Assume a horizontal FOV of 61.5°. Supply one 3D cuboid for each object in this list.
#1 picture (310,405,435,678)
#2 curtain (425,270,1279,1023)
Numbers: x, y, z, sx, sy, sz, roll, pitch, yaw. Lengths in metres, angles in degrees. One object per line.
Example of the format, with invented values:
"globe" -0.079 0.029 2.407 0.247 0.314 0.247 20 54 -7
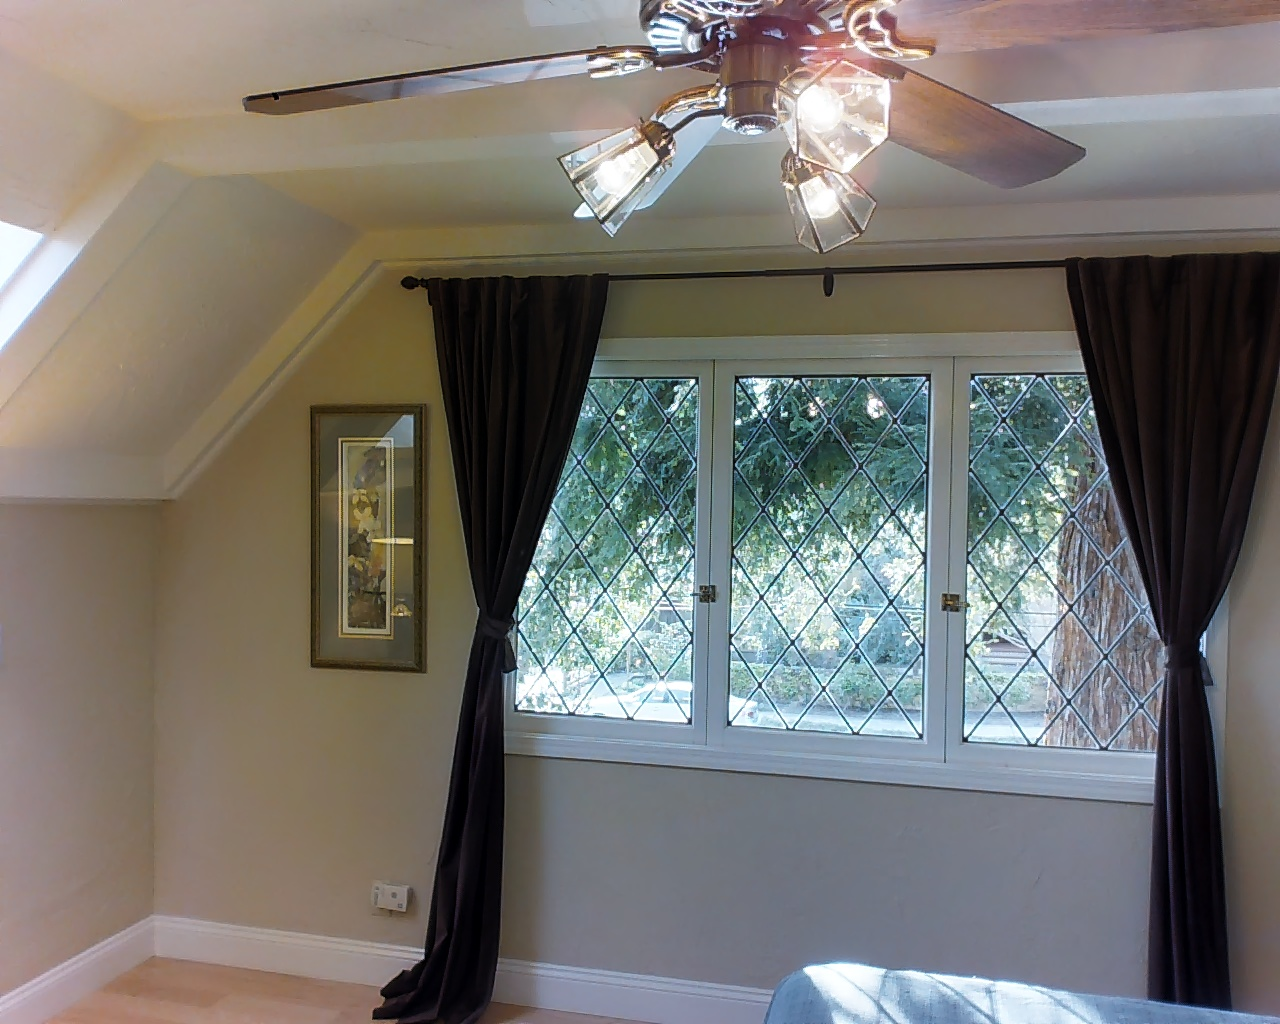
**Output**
"picture" -0.870 0.090 3.490 0.400 0.870 0.050 1 0 14
"curtain" 0.520 0.470 3.090 2.300 2.200 0.250 1 0 14
